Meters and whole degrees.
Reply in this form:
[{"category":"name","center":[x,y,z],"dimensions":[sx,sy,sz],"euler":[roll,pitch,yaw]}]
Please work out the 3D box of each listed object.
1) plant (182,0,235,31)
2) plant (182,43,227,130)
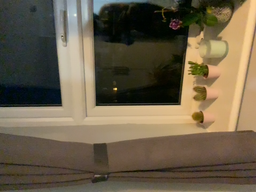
[{"category":"plant","center":[0.340,-0.380,0.920],"dimensions":[0.190,0.140,0.170],"euler":[-112,23,-75]},{"category":"plant","center":[0.360,-0.050,1.030],"dimensions":[0.150,0.110,0.400],"euler":[-110,20,-73]}]
